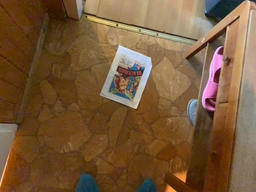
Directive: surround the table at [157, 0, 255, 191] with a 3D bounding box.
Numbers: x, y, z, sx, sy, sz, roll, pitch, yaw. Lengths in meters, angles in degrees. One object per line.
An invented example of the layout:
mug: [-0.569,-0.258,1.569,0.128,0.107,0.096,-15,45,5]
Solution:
table: [0.460,0.090,0.890,0.400,0.560,0.740,13,81,-7]
